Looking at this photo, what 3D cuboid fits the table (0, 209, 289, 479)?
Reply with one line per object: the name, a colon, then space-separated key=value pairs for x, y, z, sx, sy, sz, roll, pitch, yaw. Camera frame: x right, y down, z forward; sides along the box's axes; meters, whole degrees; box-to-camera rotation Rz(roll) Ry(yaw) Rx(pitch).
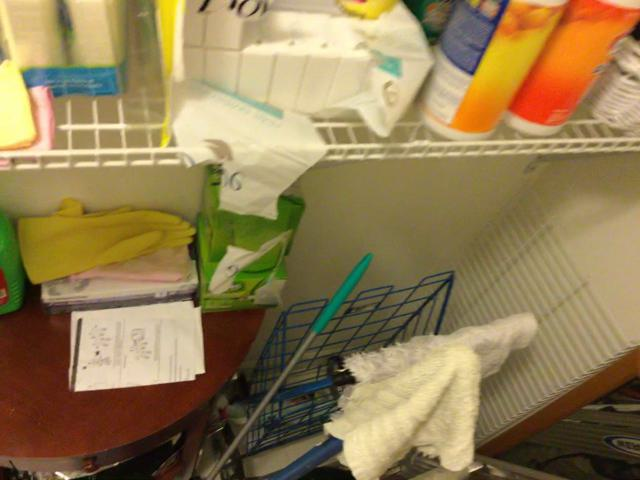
table: x=-0.520 y=0.380 z=1.310 sx=0.670 sy=0.820 sz=0.460 roll=-4 pitch=56 yaw=-19
